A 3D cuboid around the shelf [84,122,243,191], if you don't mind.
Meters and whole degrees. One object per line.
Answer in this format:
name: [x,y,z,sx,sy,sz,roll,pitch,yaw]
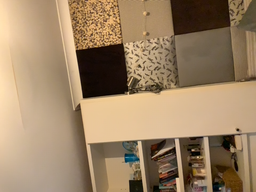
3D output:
shelf: [0.340,0.710,2.210,0.400,1.440,0.690,-38,-58,-78]
